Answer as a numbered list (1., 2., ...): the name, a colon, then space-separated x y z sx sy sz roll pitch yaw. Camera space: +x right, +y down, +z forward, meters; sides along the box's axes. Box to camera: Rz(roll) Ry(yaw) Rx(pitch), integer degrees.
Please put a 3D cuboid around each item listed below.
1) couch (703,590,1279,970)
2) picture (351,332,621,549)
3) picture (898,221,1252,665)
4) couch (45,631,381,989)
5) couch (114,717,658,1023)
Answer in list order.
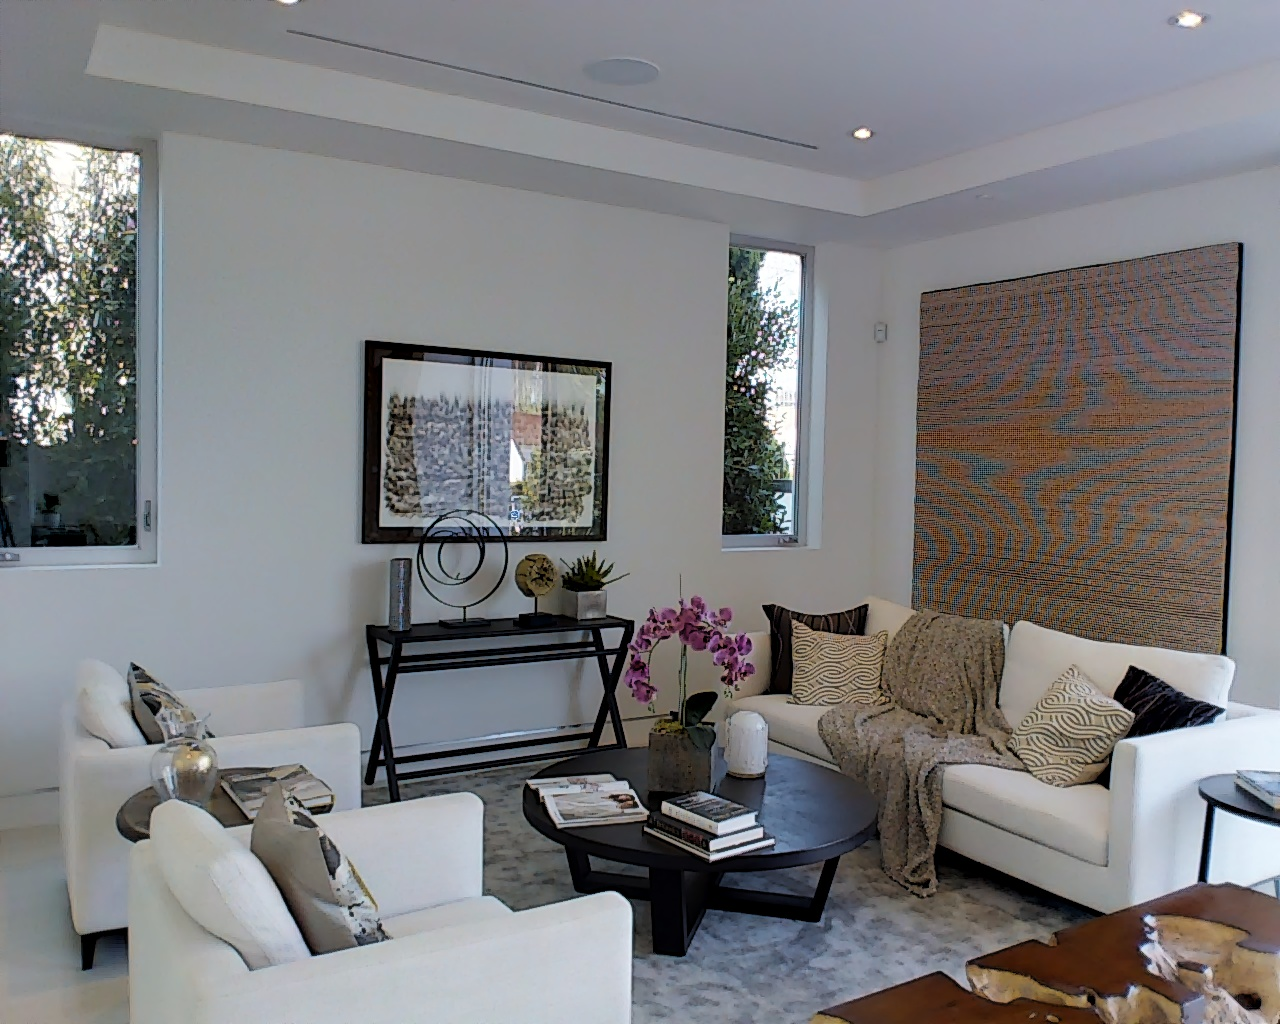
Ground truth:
1. couch: 1.369 0.920 4.570 1.060 0.870 2.320 0 3 -31
2. picture: -0.720 -0.330 5.270 1.360 0.980 0.110 0 3 -31
3. picture: 2.099 -0.340 5.540 0.100 1.931 1.960 0 3 -31
4. couch: -1.489 0.920 3.690 0.930 0.840 0.910 0 3 -31
5. couch: -0.600 1.010 2.350 0.910 0.840 0.920 0 3 -31
